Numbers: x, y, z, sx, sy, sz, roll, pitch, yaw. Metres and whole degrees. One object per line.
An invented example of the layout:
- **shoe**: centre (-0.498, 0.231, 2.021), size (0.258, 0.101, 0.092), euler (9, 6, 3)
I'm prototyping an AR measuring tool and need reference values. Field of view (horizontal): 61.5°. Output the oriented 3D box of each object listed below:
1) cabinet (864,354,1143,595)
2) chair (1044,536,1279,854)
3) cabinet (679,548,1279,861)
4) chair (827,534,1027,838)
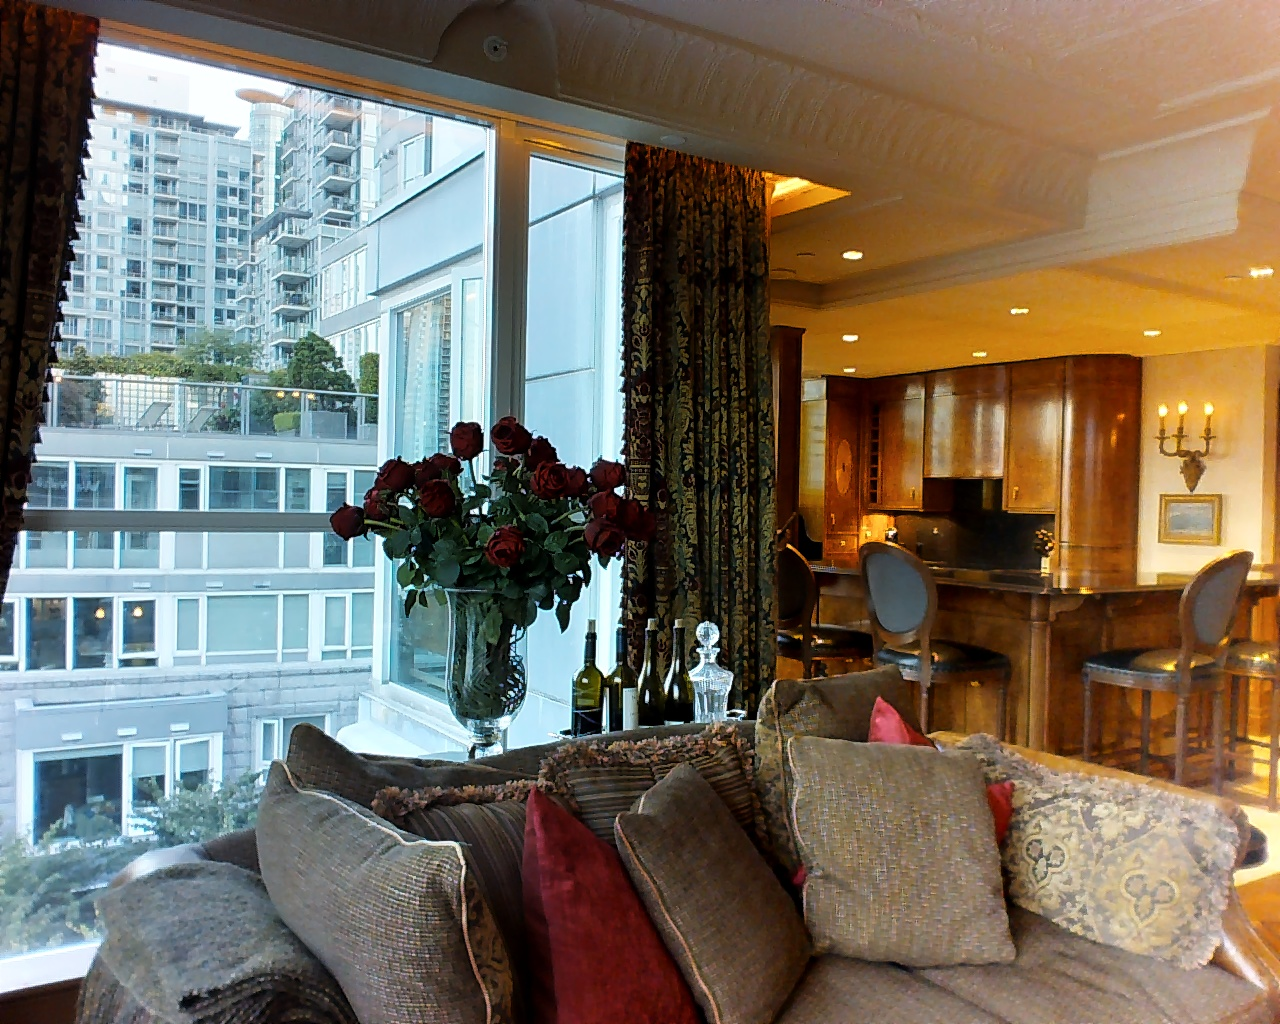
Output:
- **cabinet**: centre (2.679, -0.270, 8.260), size (0.340, 1.620, 2.270), euler (1, 1, -33)
- **chair**: centre (2.369, 0.750, 4.810), size (0.700, 1.240, 0.730), euler (1, 2, -32)
- **cabinet**: centre (1.900, 0.830, 6.010), size (2.260, 1.110, 2.590), euler (1, 1, -33)
- **chair**: centre (1.310, 0.740, 4.930), size (0.650, 1.260, 0.570), euler (1, 1, -31)
